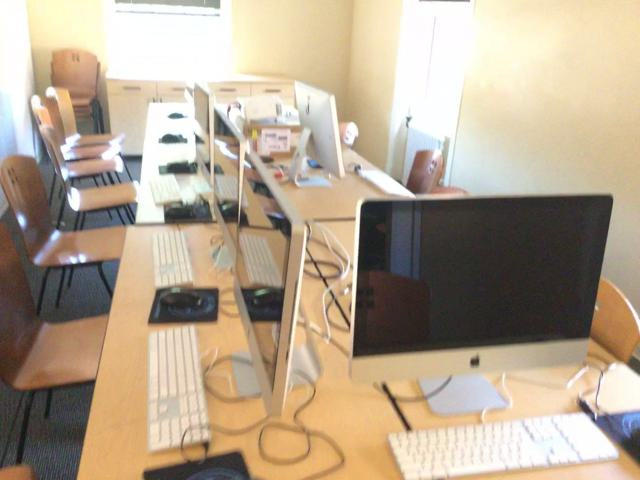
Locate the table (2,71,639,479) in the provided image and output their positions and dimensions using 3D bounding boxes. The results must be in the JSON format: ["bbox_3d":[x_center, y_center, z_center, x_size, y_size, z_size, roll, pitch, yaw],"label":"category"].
[{"bbox_3d":[-0.360,-0.120,2.900,1.200,1.060,4.430,-2,20,-16],"label":"table"}]
